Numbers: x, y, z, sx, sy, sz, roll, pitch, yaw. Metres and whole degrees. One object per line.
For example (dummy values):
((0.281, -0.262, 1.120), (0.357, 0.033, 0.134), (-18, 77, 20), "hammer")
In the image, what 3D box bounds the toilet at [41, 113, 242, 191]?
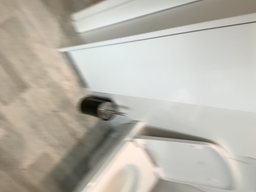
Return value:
((0.030, 0.460, 1.090), (0.490, 0.840, 0.410), (-46, 123, -29), "toilet")
